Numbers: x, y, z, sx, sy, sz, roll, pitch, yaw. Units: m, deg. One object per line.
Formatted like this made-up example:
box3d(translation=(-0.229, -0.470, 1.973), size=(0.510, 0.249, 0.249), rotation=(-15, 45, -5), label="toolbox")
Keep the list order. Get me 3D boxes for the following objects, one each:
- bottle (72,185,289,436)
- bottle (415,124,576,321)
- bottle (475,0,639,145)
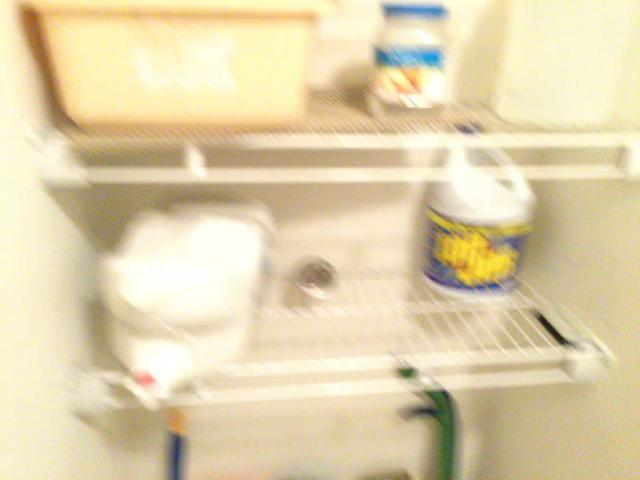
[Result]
box3d(translation=(-0.160, 0.070, 0.740), size=(0.210, 0.200, 0.280), rotation=(0, 23, -8), label="bottle")
box3d(translation=(0.270, -0.030, 0.940), size=(0.160, 0.280, 0.150), rotation=(0, 23, -8), label="bottle")
box3d(translation=(0.320, -0.290, 0.730), size=(0.160, 0.310, 0.120), rotation=(0, 23, -8), label="bottle")
